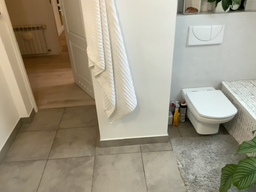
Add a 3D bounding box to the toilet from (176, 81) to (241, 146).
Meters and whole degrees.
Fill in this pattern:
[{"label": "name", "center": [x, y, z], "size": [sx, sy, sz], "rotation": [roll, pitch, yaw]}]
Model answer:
[{"label": "toilet", "center": [0.780, 0.160, 2.180], "size": [0.400, 0.400, 0.540], "rotation": [-4, 32, -3]}]
